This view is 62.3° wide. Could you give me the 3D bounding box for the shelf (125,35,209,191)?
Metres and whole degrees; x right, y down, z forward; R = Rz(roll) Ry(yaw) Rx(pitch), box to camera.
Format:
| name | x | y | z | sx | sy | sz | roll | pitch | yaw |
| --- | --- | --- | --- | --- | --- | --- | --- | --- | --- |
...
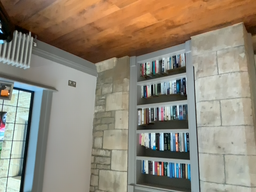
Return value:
| name | x | y | z | sx | sy | sz | roll | pitch | yaw |
| --- | --- | --- | --- | --- | --- | --- | --- | --- | --- |
| shelf | 0.520 | 0.310 | 3.070 | 1.050 | 2.090 | 0.410 | -8 | 165 | 37 |
